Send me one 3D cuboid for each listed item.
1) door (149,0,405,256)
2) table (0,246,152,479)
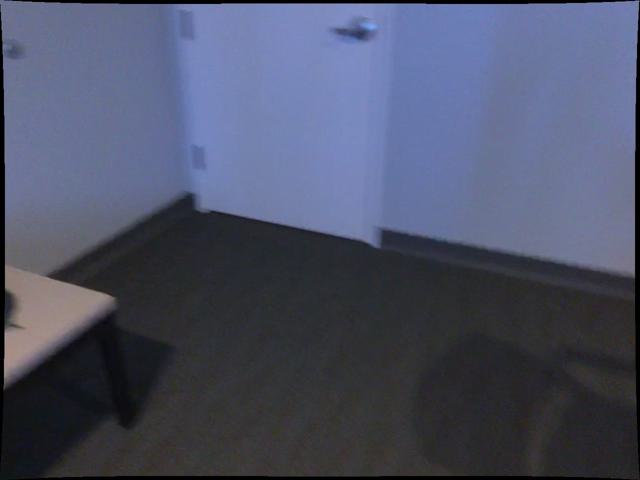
[{"bbox_3d":[-0.200,-1.102,2.220,1.059,2.363,0.160,11,30,20],"label":"door"},{"bbox_3d":[-1.038,0.441,1.430,0.799,0.551,0.810,11,30,20],"label":"table"}]
